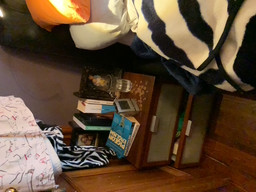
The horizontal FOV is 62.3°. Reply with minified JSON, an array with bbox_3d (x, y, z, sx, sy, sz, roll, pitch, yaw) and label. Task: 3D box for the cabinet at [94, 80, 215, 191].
[{"bbox_3d":[0.130,0.180,1.300,0.560,0.430,0.510,6,92,55],"label":"cabinet"}]
